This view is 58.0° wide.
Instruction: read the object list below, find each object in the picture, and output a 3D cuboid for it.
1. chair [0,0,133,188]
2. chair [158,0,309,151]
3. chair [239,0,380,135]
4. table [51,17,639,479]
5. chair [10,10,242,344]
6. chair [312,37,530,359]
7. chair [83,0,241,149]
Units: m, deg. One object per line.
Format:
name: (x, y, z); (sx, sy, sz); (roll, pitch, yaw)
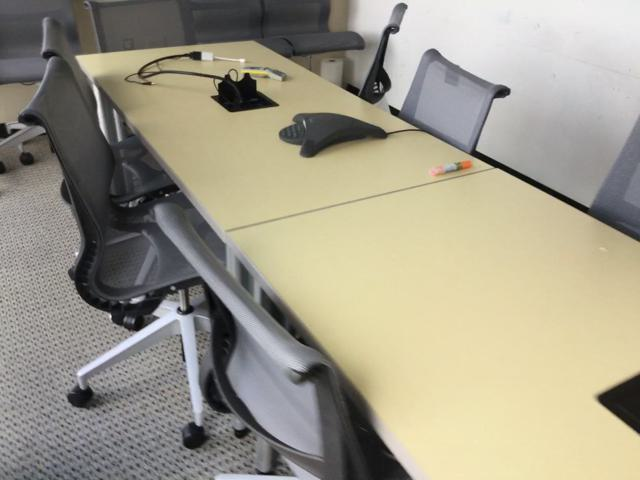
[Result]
chair: (-1.400, -0.860, 2.860); (0.660, 0.950, 0.590); (-15, 35, -26)
chair: (-0.500, -1.110, 3.340); (0.650, 0.930, 0.610); (-15, 35, -26)
chair: (-0.080, -1.230, 3.530); (0.640, 0.930, 0.570); (-15, 35, -26)
table: (0.090, 0.140, 1.540); (0.910, 0.800, 3.090); (-15, 35, -26)
chair: (-0.650, -0.250, 2.000); (0.550, 0.900, 0.630); (-12, 34, -21)
chair: (0.260, -0.170, 1.960); (0.380, 0.840, 0.670); (-8, 33, -16)
chair: (-0.660, -0.730, 2.440); (0.480, 0.480, 0.470); (-15, 35, -26)
